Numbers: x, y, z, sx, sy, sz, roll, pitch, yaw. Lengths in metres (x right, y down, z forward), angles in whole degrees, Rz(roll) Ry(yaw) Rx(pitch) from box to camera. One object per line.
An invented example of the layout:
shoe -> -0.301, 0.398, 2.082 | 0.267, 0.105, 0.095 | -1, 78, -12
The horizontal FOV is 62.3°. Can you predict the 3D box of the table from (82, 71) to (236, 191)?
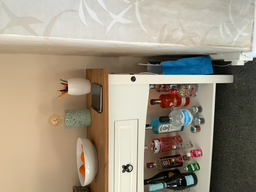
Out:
table -> 0.150, 0.320, 1.200 | 0.390, 0.720, 0.900 | -163, 72, -64
